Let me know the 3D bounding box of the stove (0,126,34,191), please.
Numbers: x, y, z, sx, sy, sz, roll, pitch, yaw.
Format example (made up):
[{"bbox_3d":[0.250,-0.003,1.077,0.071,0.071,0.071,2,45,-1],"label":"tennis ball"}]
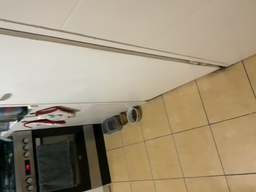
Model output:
[{"bbox_3d":[-1.030,0.630,1.900,0.620,0.140,0.590,-28,69,47],"label":"stove"}]
